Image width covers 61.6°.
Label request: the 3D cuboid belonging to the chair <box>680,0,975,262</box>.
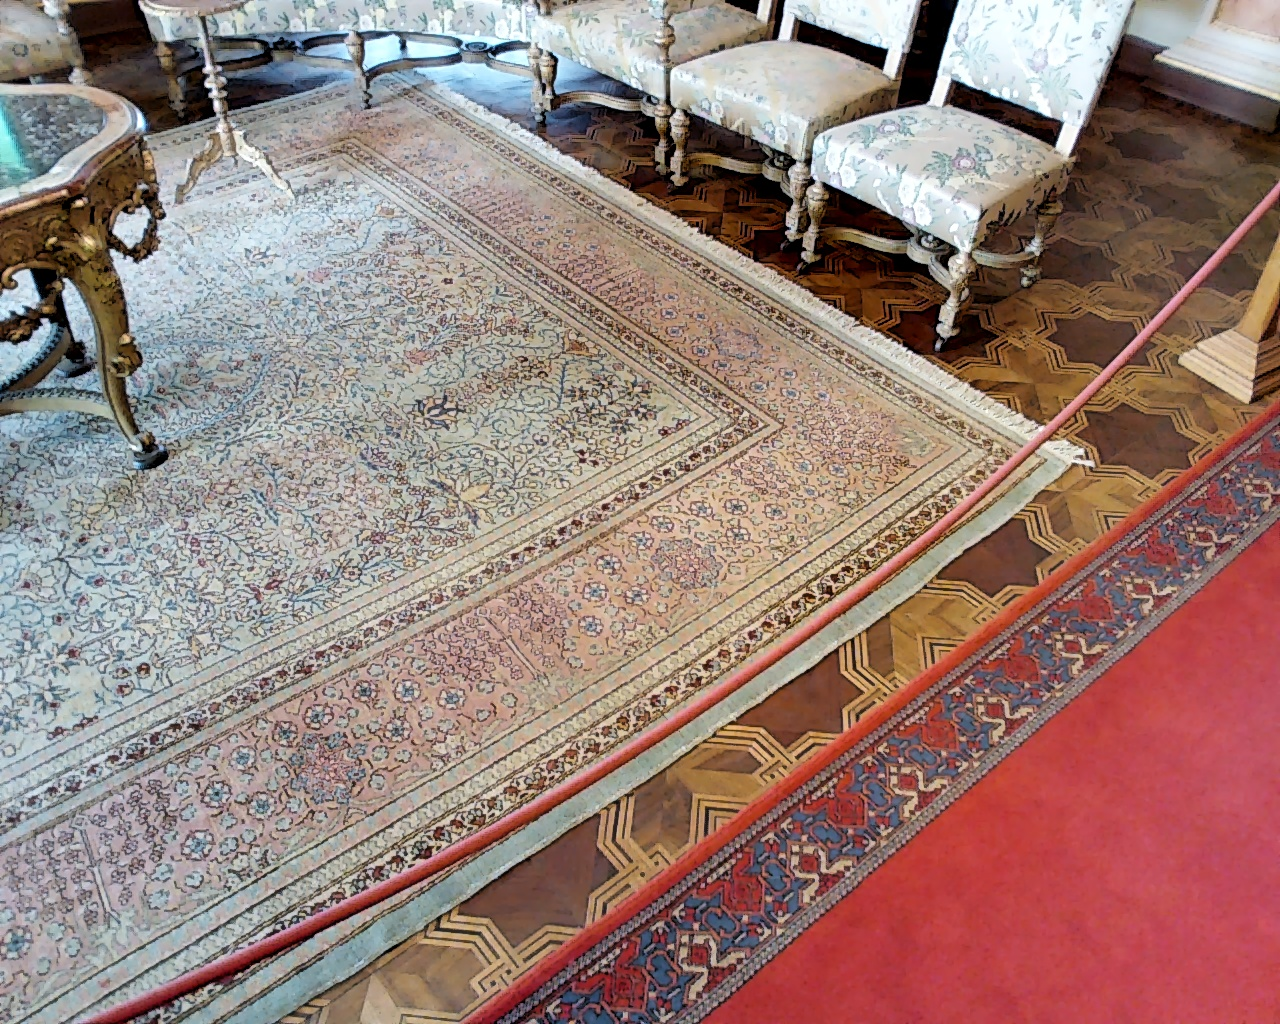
[{"bbox_3d":[0.590,-1.490,3.400,0.670,1.060,0.600,-33,52,-31],"label":"chair"}]

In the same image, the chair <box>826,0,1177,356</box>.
[{"bbox_3d":[0.980,-1.090,2.980,0.610,1.040,0.520,-29,50,-28],"label":"chair"}]

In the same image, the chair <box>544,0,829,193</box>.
[{"bbox_3d":[0.160,-1.881,3.730,0.690,1.160,0.730,-32,51,-30],"label":"chair"}]

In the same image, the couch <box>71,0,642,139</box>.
[{"bbox_3d":[-1.040,-2.201,4.170,2.009,1.040,0.980,4,43,4],"label":"couch"}]
